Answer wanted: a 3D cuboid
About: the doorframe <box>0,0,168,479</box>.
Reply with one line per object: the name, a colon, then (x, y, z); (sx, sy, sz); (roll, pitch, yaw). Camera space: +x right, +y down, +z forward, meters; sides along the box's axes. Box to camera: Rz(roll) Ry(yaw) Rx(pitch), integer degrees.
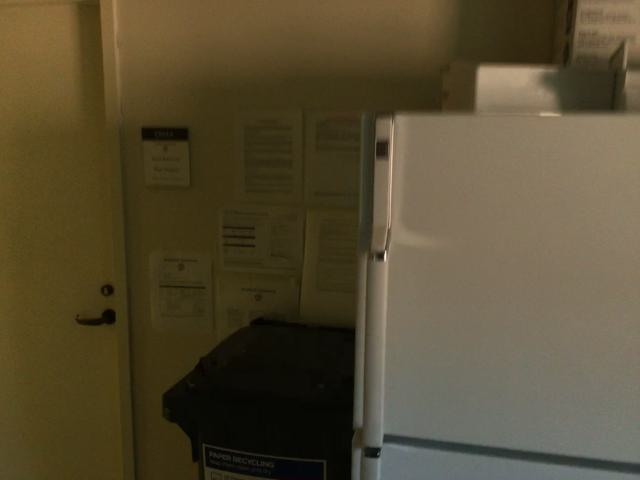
doorframe: (-1.100, 0.160, 1.990); (1.080, 2.000, 0.240); (4, 12, 13)
